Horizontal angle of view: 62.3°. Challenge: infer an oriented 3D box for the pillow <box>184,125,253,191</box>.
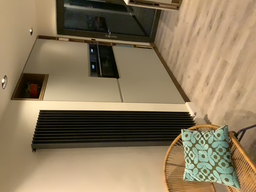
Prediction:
[{"bbox_3d":[0.730,0.610,1.730,0.530,0.450,0.260,45,121,-13],"label":"pillow"}]
